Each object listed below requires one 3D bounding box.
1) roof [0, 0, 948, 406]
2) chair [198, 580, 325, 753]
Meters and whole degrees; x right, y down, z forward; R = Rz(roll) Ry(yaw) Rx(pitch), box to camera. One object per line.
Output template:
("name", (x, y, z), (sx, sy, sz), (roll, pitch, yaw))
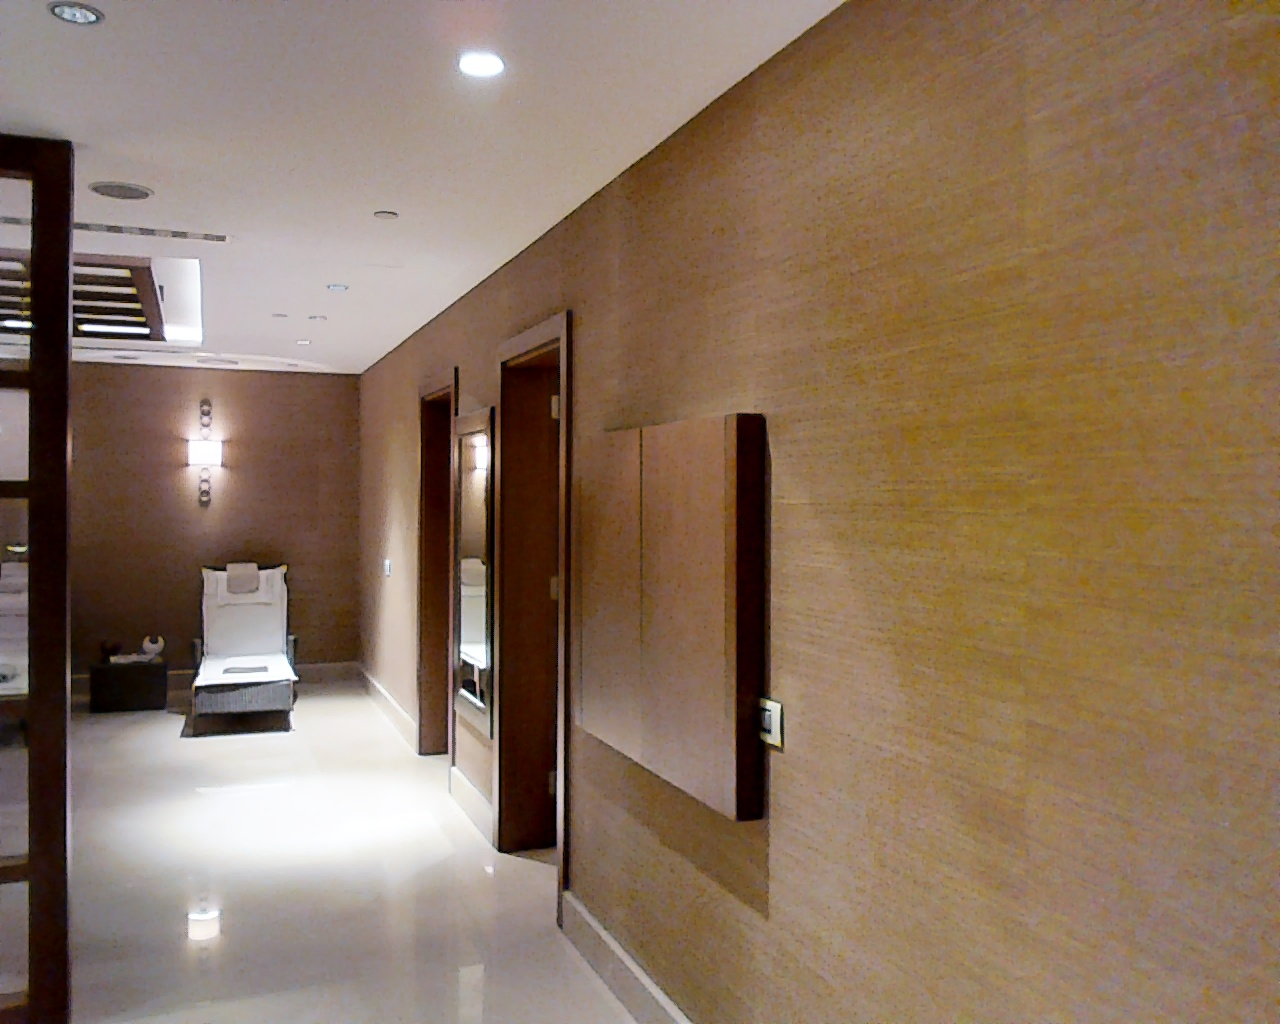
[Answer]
("roof", (-2.379, -1.020, 2.810), (4.789, 0.230, 11.790), (0, 0, -21))
("chair", (-2.779, 1.050, 7.850), (0.790, 1.000, 1.680), (0, 0, -21))
